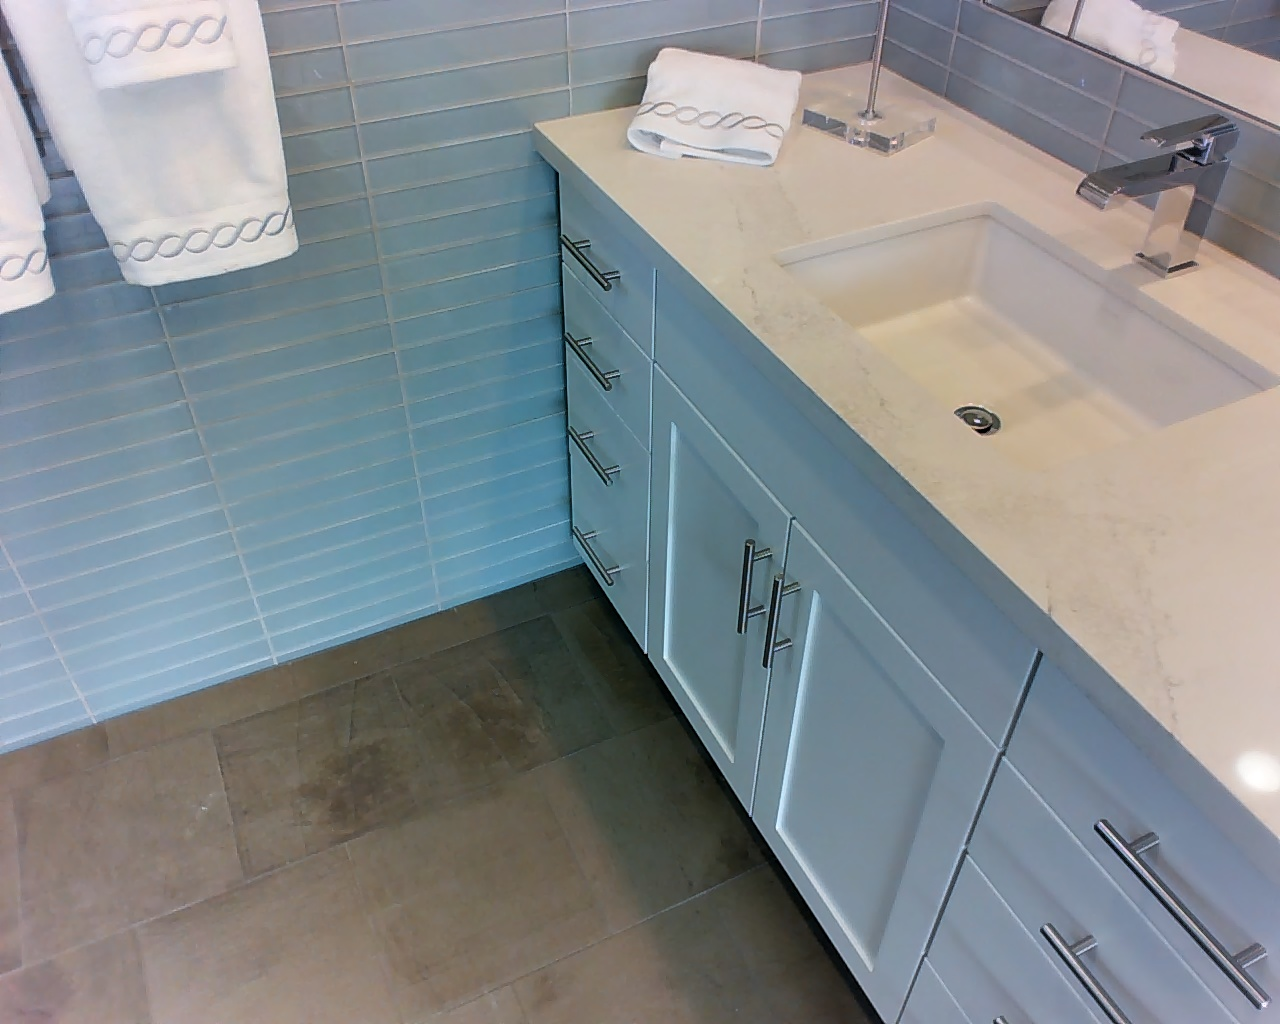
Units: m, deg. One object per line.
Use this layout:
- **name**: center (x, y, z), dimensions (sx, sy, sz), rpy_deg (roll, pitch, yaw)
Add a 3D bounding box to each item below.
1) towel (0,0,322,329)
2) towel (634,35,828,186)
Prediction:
- **towel**: center (-0.510, -0.480, 1.100), dimensions (0.230, 0.540, 0.140), rpy_deg (-17, 44, -18)
- **towel**: center (0.130, -0.560, 1.480), dimensions (0.220, 0.090, 0.260), rpy_deg (9, 43, 10)
